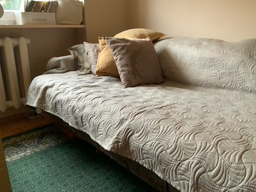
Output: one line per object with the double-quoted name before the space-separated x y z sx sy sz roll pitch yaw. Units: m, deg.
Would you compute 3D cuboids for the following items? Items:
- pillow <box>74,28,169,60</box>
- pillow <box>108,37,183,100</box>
"pillow" -0.040 -0.460 1.780 0.670 0.210 0.420 -16 24 -40
"pillow" 0.120 -0.220 1.470 0.410 0.350 0.300 -14 23 -37
